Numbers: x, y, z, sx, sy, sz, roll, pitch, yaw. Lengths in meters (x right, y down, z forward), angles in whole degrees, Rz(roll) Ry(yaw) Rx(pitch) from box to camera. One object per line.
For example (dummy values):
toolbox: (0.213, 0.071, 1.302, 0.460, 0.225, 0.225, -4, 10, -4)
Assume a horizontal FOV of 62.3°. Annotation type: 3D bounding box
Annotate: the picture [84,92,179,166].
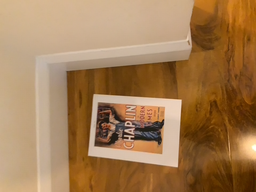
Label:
picture: (0.010, 0.100, 0.690, 0.290, 0.040, 0.210, 3, 87, 11)
